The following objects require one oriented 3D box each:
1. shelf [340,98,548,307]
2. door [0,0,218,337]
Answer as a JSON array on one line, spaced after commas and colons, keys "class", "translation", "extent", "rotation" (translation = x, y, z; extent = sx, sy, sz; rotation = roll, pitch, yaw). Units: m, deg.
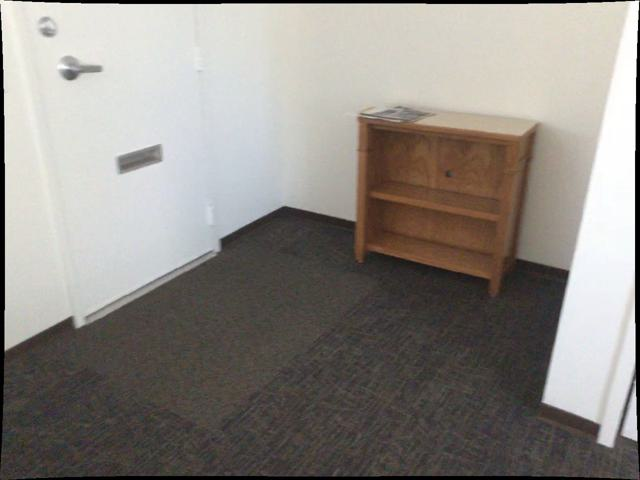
[{"class": "shelf", "translation": [0.559, -0.210, 2.770], "extent": [0.819, 0.781, 0.360], "rotation": [15, 27, 27]}, {"class": "door", "translation": [-0.799, -0.721, 2.320], "extent": [0.120, 2.063, 0.940], "rotation": [15, 27, 27]}]
